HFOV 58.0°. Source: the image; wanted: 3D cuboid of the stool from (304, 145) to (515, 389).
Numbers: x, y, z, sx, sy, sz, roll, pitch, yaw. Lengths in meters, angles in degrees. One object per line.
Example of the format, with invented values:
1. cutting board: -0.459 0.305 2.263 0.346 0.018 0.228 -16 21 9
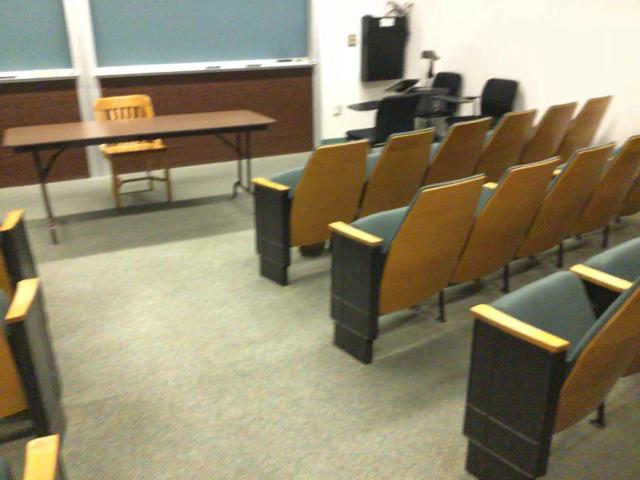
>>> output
1. stool: 0.360 0.070 2.480 0.640 0.840 0.470 -9 25 -35

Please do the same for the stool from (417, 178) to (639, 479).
1. stool: 0.720 0.300 1.720 0.550 0.840 0.500 -6 23 -28

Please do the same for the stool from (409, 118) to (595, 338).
1. stool: 0.830 -0.090 2.720 0.530 0.880 0.460 -10 25 -35

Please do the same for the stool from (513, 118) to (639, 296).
1. stool: 1.300 -0.170 2.870 0.530 0.830 0.180 -6 23 -28
